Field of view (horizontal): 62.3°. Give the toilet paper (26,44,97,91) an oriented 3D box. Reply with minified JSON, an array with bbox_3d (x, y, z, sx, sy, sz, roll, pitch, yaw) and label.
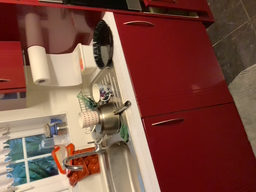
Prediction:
[{"bbox_3d":[-0.440,-0.180,1.380,0.280,0.380,0.180,-36,65,58],"label":"toilet paper"}]

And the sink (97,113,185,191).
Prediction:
[{"bbox_3d":[0.050,0.450,1.250,0.520,0.200,0.550,-39,62,57],"label":"sink"}]
